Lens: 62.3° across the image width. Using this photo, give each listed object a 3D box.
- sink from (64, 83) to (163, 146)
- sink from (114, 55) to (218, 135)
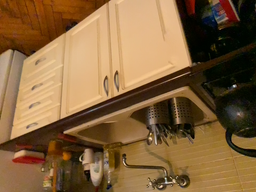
[{"bbox_3d":[-0.070,0.150,1.300,0.350,0.170,0.500,-22,149,29],"label":"sink"},{"bbox_3d":[0.220,0.040,1.140,0.350,0.170,0.500,-22,149,29],"label":"sink"}]
